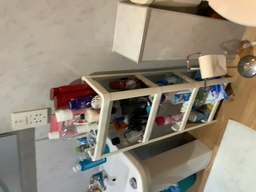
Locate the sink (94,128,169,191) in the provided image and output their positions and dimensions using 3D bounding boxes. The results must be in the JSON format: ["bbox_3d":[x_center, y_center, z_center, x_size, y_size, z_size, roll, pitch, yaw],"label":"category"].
[{"bbox_3d":[-0.020,0.560,1.300,0.440,0.150,0.560,36,125,45],"label":"sink"}]
